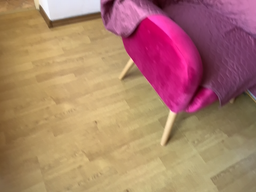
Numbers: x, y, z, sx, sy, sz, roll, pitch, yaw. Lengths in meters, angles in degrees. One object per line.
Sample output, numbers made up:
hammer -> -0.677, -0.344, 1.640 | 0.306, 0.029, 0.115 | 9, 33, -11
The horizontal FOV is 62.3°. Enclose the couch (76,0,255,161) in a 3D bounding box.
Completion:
couch -> 0.280, -0.400, 0.970 | 0.770, 1.010, 0.770 | -25, 60, -23
